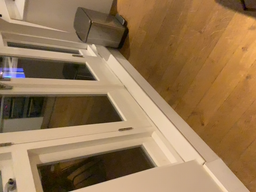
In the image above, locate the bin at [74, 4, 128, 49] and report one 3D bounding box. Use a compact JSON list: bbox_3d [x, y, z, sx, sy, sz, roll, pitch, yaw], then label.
[{"bbox_3d":[-0.300,-0.740,2.260,0.470,0.360,0.260,49,128,41],"label":"bin"}]
